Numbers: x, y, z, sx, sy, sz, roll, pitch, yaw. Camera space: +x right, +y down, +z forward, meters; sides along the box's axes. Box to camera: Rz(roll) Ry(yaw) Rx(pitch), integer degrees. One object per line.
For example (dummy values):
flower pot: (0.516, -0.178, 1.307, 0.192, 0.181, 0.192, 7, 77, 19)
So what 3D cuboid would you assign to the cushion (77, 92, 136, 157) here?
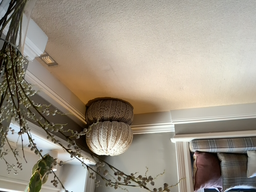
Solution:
cushion: (-0.180, 0.320, 2.170, 0.400, 0.480, 0.530, -6, 151, 15)
